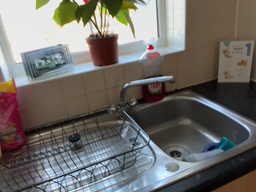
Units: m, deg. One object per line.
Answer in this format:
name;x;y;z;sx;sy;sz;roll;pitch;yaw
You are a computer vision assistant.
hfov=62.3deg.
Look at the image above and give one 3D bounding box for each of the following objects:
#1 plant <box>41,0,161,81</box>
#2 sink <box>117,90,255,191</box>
plant;-0.140;-0.420;0.990;0.460;0.540;0.320;-16;25;-20
sink;0.240;0.170;0.910;0.400;0.150;0.510;-15;25;-19
